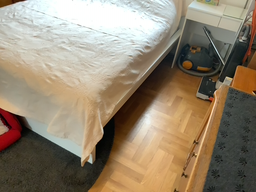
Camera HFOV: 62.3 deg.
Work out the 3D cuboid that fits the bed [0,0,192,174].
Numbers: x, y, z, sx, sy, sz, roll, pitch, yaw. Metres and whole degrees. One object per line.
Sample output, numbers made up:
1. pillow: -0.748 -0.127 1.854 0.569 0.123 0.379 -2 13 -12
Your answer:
1. bed: -0.520 -0.580 2.330 1.780 0.620 2.150 23 42 17
